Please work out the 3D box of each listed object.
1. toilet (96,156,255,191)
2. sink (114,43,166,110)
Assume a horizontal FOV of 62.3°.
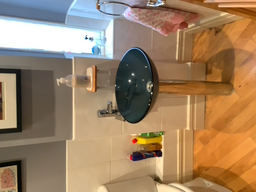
[{"bbox_3d":[0.310,0.780,1.510,0.680,0.880,0.390,4,94,61],"label":"toilet"},{"bbox_3d":[0.070,-0.110,1.360,0.250,0.230,0.380,-1,90,61],"label":"sink"}]
